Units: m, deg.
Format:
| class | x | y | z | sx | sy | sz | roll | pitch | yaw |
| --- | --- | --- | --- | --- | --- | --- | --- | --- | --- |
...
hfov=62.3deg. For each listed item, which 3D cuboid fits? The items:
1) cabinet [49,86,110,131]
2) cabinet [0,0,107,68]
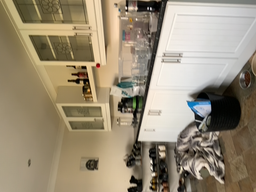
| class | x | y | z | sx | sy | sz | roll | pitch | yaw |
| --- | --- | --- | --- | --- | --- | --- | --- | --- | --- |
| cabinet | -0.740 | 0.250 | 3.570 | 1.000 | 0.830 | 0.290 | 95 | 176 | -58 |
| cabinet | -0.650 | -0.730 | 2.020 | 1.060 | 0.830 | 0.290 | 95 | 176 | -58 |
